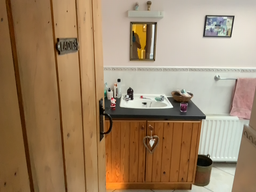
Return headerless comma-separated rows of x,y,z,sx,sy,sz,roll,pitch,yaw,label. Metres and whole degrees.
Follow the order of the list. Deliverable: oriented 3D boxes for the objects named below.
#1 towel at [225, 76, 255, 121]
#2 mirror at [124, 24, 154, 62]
1.360,0.030,2.460,0.320,0.490,0.170,1,17,0,towel
0.120,-0.590,2.380,0.330,0.400,0.040,1,17,1,mirror
